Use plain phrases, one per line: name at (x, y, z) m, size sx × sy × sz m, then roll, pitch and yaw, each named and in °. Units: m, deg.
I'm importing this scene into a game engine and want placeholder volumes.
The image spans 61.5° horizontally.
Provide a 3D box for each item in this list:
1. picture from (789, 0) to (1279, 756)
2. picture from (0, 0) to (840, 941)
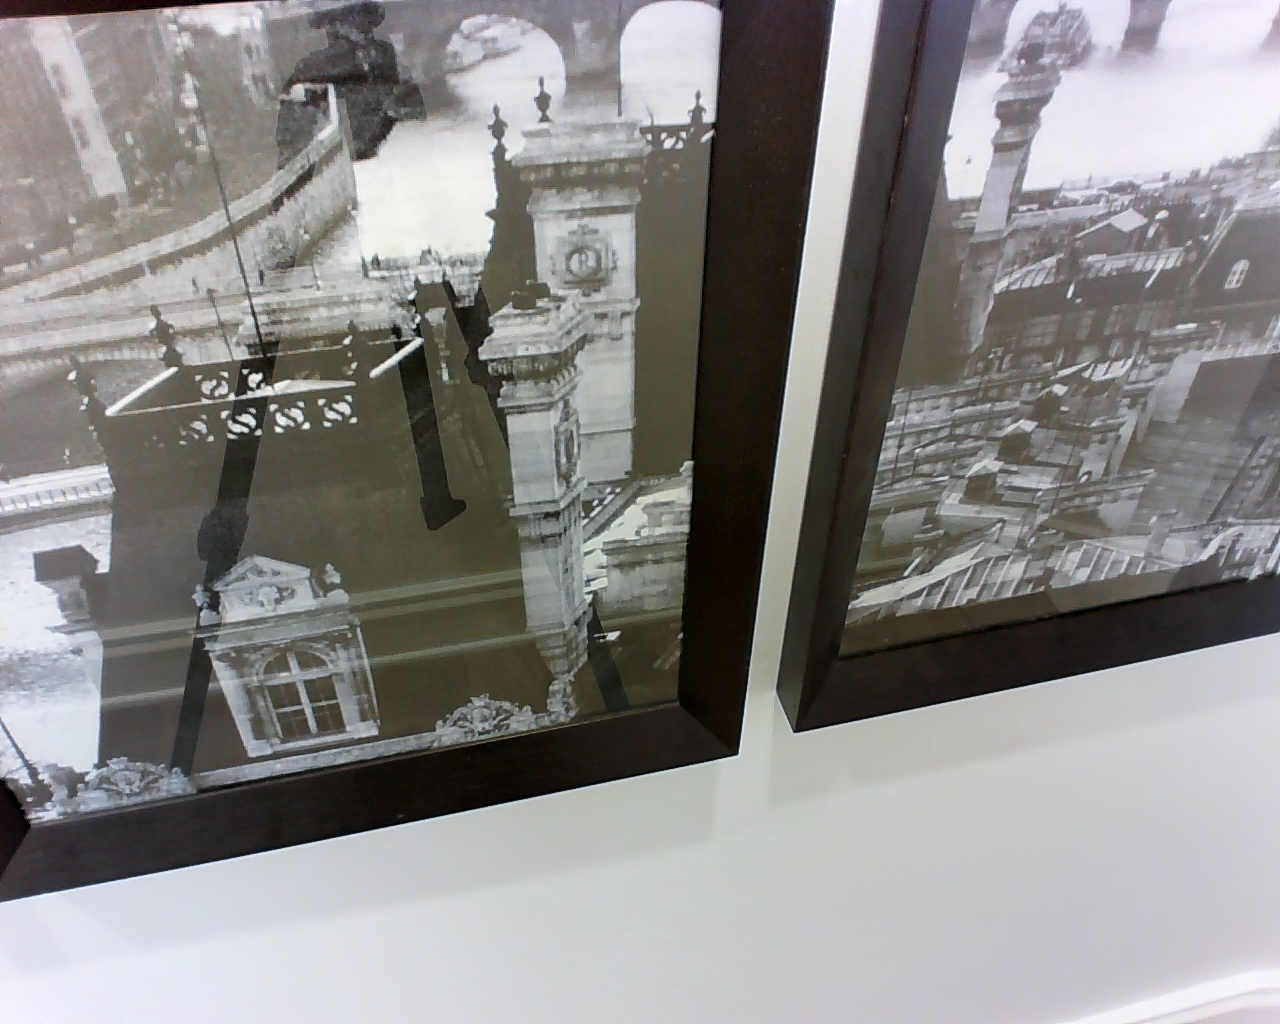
picture at (0.360, -0.090, 0.650) m, size 0.510 × 0.560 × 0.040 m, roll -10°, pitch 42°, yaw -10°
picture at (-0.170, -0.010, 0.550) m, size 0.530 × 0.560 × 0.060 m, roll -12°, pitch 43°, yaw -7°
